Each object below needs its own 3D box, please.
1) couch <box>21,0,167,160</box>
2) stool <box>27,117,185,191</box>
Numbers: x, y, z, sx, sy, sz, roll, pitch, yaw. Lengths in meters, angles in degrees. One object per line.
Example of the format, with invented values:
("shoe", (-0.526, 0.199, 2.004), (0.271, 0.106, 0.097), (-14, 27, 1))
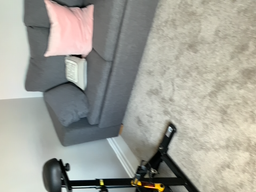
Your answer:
("couch", (-0.410, -0.460, 1.840), (0.890, 0.810, 1.690), (48, 132, 43))
("stool", (-0.140, 0.450, 1.430), (0.460, 0.920, 0.290), (48, 132, 43))
